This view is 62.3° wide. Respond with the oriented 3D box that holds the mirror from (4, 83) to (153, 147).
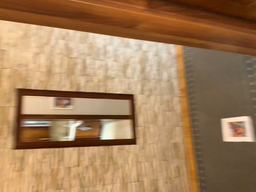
[{"bbox_3d":[-0.420,0.200,2.180,0.100,1.440,0.570,150,120,-65],"label":"mirror"}]
